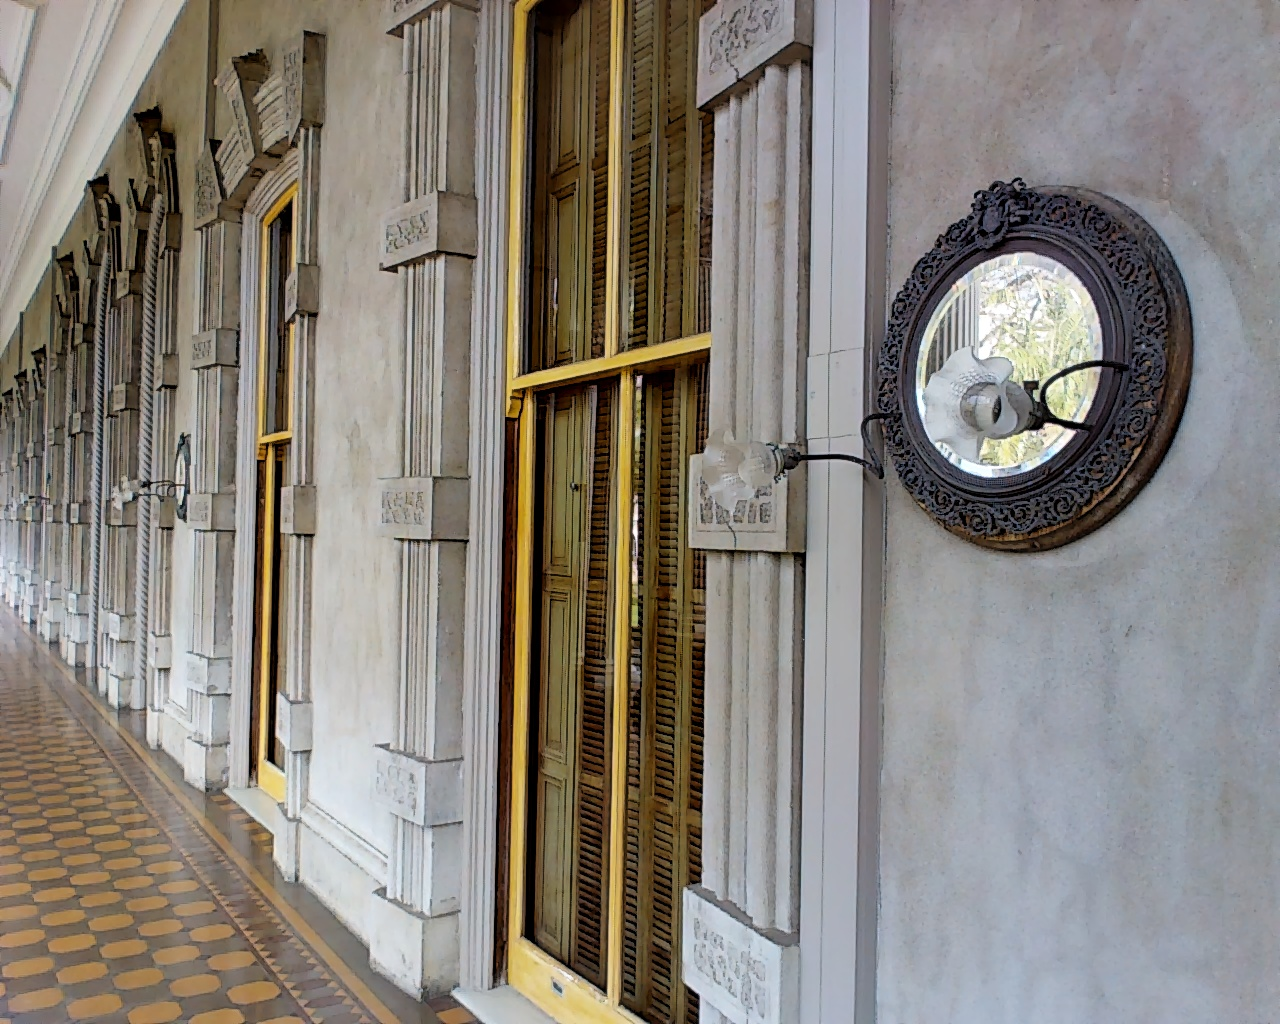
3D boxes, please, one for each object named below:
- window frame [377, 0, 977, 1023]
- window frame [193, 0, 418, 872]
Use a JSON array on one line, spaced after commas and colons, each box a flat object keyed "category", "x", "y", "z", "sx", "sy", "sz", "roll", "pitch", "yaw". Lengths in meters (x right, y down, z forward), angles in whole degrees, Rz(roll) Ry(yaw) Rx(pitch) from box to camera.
[{"category": "window frame", "x": -0.110, "y": -0.310, "z": 3.040, "sx": 0.420, "sy": 3.761, "sz": 2.250, "roll": 1, "pitch": -1, "yaw": -34}, {"category": "window frame", "x": -1.850, "y": -0.350, "z": 5.680, "sx": 0.450, "sy": 3.801, "sz": 2.240, "roll": 1, "pitch": -1, "yaw": -34}]
